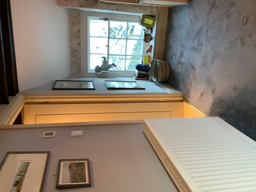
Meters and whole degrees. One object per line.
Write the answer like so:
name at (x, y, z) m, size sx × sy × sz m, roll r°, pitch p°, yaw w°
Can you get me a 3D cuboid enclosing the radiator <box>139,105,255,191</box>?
radiator at (0.560, 0.280, 1.450) m, size 0.880 × 0.750 × 0.110 m, roll -124°, pitch 36°, yaw -66°
